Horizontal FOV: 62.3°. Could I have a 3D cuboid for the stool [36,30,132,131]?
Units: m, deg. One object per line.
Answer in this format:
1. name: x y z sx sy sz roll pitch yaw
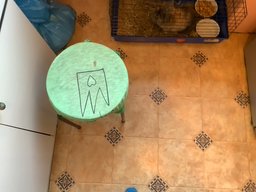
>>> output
1. stool: -0.160 -0.030 1.030 0.330 0.470 0.340 3 75 0
